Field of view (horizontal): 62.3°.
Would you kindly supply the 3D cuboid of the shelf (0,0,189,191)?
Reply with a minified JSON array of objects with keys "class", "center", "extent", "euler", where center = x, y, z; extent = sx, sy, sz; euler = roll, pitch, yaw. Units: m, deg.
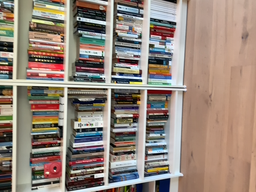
[{"class":"shelf","center":[-0.490,-0.090,1.600],"extent":[0.350,2.080,1.660],"euler":[5,94,64]}]
